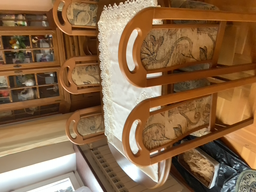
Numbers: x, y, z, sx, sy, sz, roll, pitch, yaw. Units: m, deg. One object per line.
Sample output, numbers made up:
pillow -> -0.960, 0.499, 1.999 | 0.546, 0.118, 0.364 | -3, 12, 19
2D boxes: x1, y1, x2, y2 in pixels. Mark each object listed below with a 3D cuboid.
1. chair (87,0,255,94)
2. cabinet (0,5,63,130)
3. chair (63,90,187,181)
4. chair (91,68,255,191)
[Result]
chair -> 0.320, -0.370, 1.340 | 0.560, 0.980, 0.470 | 23, 118, 56
cabinet -> -1.500, -0.360, 2.650 | 0.540, 1.150, 1.410 | 37, 129, 50
chair -> -0.020, 0.300, 2.080 | 0.550, 1.040, 0.450 | 29, 123, 53
chair -> 0.330, 0.110, 1.470 | 0.560, 0.990, 0.470 | 23, 118, 56
